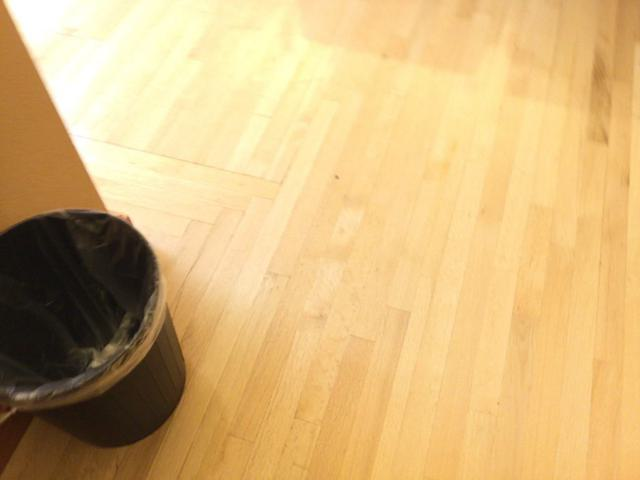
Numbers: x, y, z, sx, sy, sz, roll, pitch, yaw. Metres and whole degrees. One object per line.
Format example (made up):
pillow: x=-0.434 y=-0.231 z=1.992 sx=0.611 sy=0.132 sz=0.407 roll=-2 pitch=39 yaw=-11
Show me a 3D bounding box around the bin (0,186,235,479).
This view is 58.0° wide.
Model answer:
bin: x=-0.390 y=0.180 z=1.020 sx=0.310 sy=0.360 sz=0.340 roll=14 pitch=58 yaw=13
